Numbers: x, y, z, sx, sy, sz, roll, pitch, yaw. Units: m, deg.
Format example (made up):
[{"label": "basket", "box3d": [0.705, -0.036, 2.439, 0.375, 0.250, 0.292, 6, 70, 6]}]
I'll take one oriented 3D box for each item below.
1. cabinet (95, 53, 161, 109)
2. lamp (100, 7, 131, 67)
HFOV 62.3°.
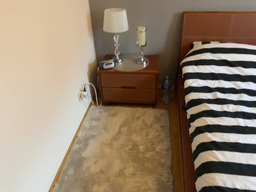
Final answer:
[{"label": "cabinet", "box3d": [0.030, -0.180, 2.320, 0.630, 0.440, 0.410, 3, 35, 8]}, {"label": "lamp", "box3d": [-0.110, -0.590, 2.140, 0.240, 0.540, 0.200, 3, 35, 7]}]
